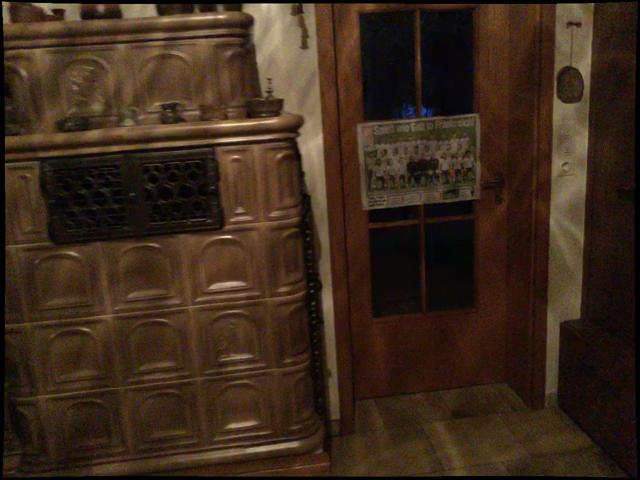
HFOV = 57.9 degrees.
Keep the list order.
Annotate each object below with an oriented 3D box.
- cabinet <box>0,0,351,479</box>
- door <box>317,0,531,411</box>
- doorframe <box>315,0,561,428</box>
[{"bbox_3d":[-0.619,0.140,1.940,1.259,1.762,0.810,-6,15,-6],"label":"cabinet"},{"bbox_3d":[0.480,-0.210,2.610,0.839,1.942,0.240,-6,15,-6],"label":"door"},{"bbox_3d":[0.499,-0.210,2.500,0.889,1.952,0.370,-6,15,-6],"label":"doorframe"}]
